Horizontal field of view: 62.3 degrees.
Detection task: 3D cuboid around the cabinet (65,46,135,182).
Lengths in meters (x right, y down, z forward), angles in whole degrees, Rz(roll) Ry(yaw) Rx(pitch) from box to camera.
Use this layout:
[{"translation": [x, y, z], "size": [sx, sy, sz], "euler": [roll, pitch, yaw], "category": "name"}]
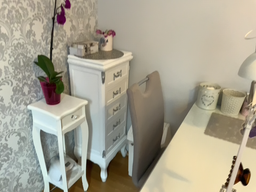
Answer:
[{"translation": [-0.220, 0.140, 1.790], "size": [0.340, 1.010, 0.420], "euler": [15, 27, 24], "category": "cabinet"}]
